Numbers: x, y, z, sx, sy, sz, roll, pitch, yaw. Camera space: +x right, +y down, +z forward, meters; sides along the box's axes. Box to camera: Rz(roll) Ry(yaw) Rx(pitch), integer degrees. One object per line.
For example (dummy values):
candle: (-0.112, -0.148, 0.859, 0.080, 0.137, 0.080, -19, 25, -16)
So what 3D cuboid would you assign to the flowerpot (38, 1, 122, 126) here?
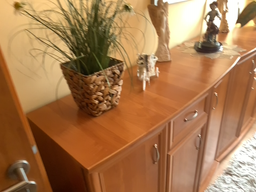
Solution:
flowerpot: (-0.180, -0.140, 0.890, 0.200, 0.450, 0.200, -27, 37, -36)

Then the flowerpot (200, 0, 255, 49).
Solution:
flowerpot: (1.250, -0.800, 1.770, 0.850, 0.610, 0.850, -27, 37, -36)
